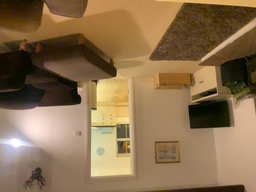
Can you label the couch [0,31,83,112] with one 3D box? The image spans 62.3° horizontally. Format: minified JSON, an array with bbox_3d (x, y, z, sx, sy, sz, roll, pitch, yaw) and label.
[{"bbox_3d":[-1.510,-0.220,3.240,0.940,0.750,1.600,-4,170,16],"label":"couch"}]
